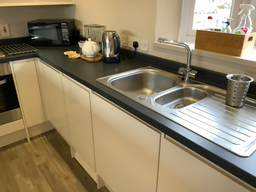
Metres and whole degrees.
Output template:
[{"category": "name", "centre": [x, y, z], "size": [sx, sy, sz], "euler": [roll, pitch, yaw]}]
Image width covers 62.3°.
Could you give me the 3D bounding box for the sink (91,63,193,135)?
[{"category": "sink", "centre": [0.090, -0.020, 1.430], "size": [0.510, 0.220, 0.430], "euler": [-19, 31, -35]}]

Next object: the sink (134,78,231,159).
[{"category": "sink", "centre": [0.310, 0.090, 1.190], "size": [0.510, 0.220, 0.240], "euler": [-19, 31, -35]}]
